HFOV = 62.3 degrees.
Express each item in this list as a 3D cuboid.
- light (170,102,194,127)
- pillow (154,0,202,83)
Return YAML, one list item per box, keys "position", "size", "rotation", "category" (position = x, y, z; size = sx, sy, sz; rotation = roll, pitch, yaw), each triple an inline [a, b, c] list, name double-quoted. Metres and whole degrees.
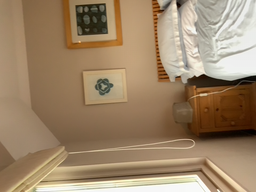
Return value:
- position: [0.530, 0.180, 2.110]
  size: [0.230, 0.170, 0.210]
  rotation: [-93, -1, -88]
  category: "light"
- position: [0.450, -0.560, 2.020]
  size: [0.460, 0.290, 0.820]
  rotation: [60, -154, -90]
  category: "pillow"
